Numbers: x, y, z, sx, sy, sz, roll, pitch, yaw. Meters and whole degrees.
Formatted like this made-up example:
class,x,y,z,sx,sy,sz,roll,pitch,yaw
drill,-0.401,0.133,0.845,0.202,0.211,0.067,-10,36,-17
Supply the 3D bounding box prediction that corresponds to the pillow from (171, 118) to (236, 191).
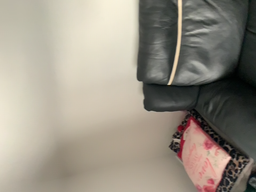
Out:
class,x,y,z,sx,sy,sz,roll,pitch,yaw
pillow,0.490,0.440,1.490,0.460,0.130,0.400,-136,42,-61
